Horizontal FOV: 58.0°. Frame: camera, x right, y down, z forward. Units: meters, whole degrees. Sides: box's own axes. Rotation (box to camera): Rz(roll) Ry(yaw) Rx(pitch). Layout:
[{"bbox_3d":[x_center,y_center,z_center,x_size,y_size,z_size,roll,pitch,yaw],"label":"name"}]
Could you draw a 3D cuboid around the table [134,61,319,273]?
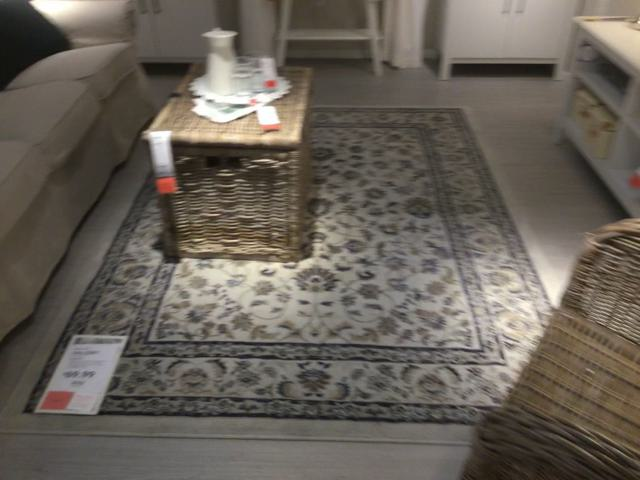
[{"bbox_3d":[-0.290,-0.310,2.220,0.520,0.520,0.730,1,35,3],"label":"table"}]
